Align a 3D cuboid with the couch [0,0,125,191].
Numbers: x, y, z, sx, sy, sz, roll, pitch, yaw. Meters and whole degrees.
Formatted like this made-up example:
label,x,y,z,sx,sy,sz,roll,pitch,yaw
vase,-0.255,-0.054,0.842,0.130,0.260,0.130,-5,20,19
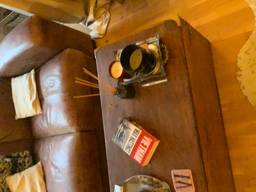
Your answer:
label,x,y,z,sx,sy,sz,roll,pitch,yaw
couch,-0.740,0.320,1.650,1.040,0.780,1.600,-13,82,34
